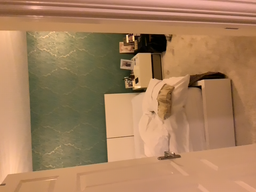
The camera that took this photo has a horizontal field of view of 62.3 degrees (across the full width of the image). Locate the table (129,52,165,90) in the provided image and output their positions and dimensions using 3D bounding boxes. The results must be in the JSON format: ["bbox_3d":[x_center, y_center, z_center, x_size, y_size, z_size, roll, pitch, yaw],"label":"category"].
[{"bbox_3d":[0.330,-0.450,3.920,0.580,0.460,0.610,173,94,-76],"label":"table"}]
